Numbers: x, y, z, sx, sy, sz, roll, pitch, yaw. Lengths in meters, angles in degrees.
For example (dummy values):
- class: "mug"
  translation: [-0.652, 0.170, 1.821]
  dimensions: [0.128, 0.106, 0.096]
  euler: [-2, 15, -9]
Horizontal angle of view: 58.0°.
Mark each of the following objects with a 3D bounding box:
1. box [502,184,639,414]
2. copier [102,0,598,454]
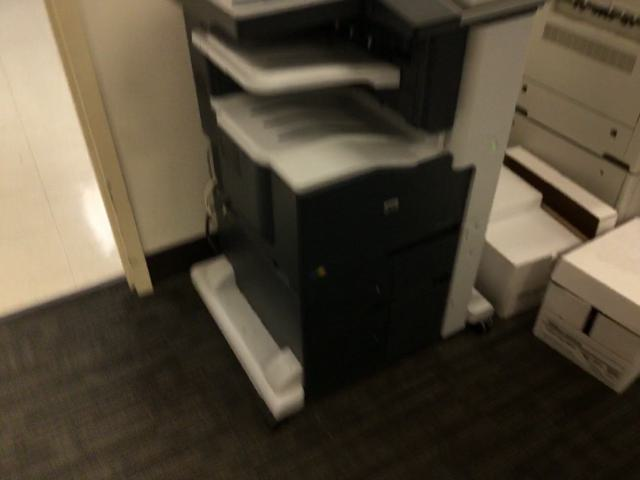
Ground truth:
- class: "box"
  translation: [0.890, 0.140, 1.670]
  dimensions: [0.530, 0.280, 0.410]
  euler: [-26, 47, -26]
- class: "copier"
  translation: [0.030, -0.220, 1.470]
  dimensions: [0.800, 1.150, 0.690]
  euler: [-22, 45, -22]
